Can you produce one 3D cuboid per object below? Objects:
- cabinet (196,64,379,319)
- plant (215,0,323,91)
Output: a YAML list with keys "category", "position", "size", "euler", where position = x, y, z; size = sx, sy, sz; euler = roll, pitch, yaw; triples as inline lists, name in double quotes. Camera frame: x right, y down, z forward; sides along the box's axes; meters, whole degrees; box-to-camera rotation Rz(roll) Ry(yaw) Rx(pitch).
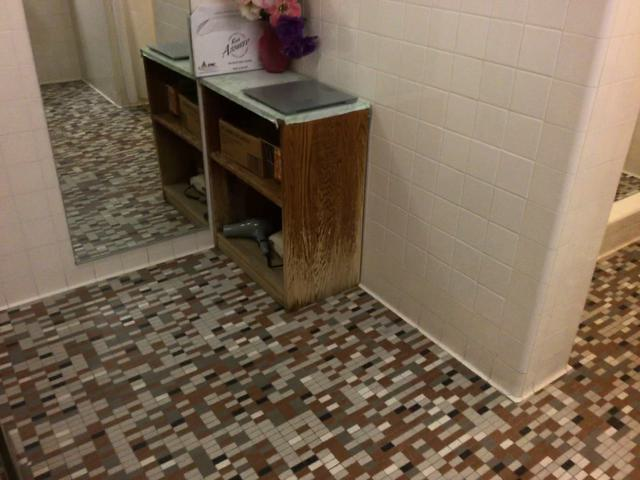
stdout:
- category: "cabinet"
  position: [-0.140, -0.220, 2.260]
  size: [0.400, 0.770, 0.610]
  euler: [-17, 33, -30]
- category: "plant"
  position: [-0.190, -0.810, 2.110]
  size: [0.270, 0.430, 0.310]
  euler: [-17, 33, -30]
